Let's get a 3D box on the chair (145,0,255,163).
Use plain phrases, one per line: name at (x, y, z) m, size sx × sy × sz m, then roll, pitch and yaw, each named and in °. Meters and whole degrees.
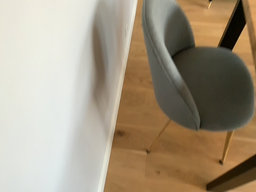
chair at (0.420, -0.060, 1.060) m, size 0.590 × 0.810 × 0.500 m, roll 6°, pitch 59°, yaw 5°
